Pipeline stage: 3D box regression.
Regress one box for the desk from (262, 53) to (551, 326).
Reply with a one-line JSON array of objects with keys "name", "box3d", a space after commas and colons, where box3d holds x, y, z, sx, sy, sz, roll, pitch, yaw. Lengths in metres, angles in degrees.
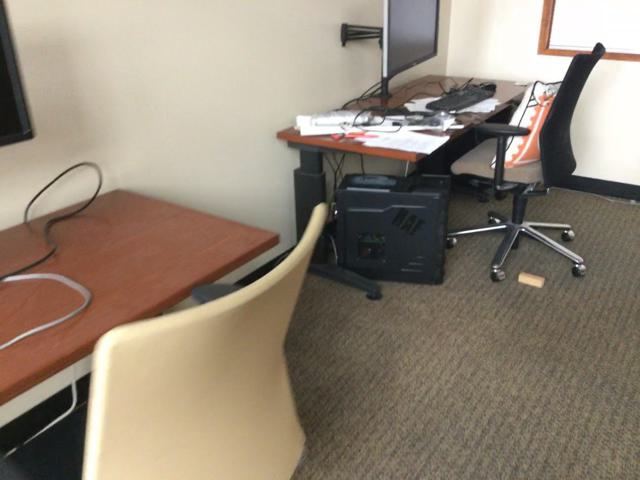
[{"name": "desk", "box3d": [0.530, -0.400, 2.950, 0.710, 0.830, 1.610, 15, 30, 32]}]
